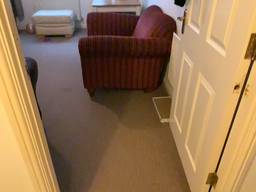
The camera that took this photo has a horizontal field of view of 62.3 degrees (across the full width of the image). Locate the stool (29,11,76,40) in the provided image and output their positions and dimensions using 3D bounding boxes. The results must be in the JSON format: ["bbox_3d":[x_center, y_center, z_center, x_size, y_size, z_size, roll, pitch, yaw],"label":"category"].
[{"bbox_3d":[-1.540,-1.500,4.470,0.750,0.460,0.640,-2,31,-5],"label":"stool"}]
